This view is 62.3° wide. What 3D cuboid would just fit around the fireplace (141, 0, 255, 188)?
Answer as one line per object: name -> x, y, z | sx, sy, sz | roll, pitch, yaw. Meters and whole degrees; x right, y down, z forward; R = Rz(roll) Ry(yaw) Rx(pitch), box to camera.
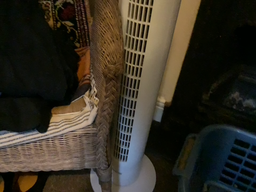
fireplace -> 0.470, -0.110, 0.740 | 0.680, 0.960, 0.230 | 21, 41, 16
